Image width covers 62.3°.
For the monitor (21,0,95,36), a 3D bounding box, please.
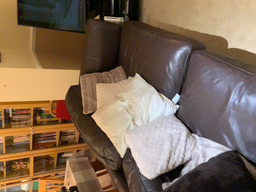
[{"bbox_3d":[-0.660,-1.120,2.050,0.060,0.690,0.970,7,98,58],"label":"monitor"}]
